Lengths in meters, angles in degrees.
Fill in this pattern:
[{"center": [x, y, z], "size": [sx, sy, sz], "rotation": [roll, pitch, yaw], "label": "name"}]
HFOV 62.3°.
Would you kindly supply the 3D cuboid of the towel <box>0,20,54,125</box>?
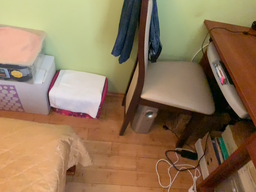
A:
[{"center": [-0.990, -0.160, 1.320], "size": [0.910, 0.570, 0.320], "rotation": [7, 47, -8], "label": "towel"}]
